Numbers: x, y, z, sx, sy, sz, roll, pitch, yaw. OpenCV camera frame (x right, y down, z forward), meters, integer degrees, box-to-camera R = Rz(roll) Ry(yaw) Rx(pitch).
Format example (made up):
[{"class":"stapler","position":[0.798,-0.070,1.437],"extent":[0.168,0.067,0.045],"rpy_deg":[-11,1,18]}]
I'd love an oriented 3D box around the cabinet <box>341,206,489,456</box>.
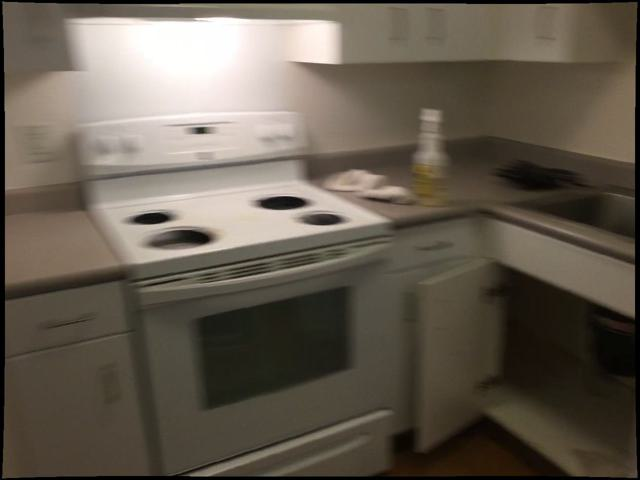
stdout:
[{"class":"cabinet","position":[0.319,0.301,1.930],"extent":[0.519,0.762,0.070],"rpy_deg":[-11,21,-26]}]

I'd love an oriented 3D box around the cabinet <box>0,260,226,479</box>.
[{"class":"cabinet","position":[-0.559,0.531,1.560],"extent":[0.549,0.862,0.150],"rpy_deg":[-11,21,-26]}]

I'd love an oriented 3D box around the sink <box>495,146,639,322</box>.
[{"class":"sink","position":[0.987,-0.060,1.810],"extent":[0.589,0.331,0.570],"rpy_deg":[-11,21,-26]}]

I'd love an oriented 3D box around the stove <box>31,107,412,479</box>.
[{"class":"stove","position":[-0.309,0.241,1.920],"extent":[0.948,1.213,0.720],"rpy_deg":[-11,21,-26]}]

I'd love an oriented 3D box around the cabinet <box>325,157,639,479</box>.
[{"class":"cabinet","position":[0.838,0.371,1.850],"extent":[0.958,0.922,1.659],"rpy_deg":[-11,21,-26]}]
